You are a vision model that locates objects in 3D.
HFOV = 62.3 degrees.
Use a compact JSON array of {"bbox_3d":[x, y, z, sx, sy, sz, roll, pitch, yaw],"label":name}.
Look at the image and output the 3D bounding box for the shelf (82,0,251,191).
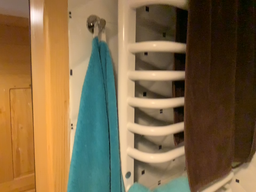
[{"bbox_3d":[0.180,-0.110,0.680,0.660,0.880,0.150,-5,9,-43],"label":"shelf"}]
